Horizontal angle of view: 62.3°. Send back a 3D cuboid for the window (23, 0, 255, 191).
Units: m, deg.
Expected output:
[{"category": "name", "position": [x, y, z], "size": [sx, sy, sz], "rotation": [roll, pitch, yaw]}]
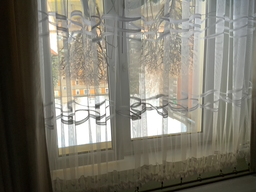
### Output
[{"category": "window", "position": [0.240, -0.360, 1.370], "size": [1.610, 1.860, 0.220], "rotation": [-3, -171, -15]}]
